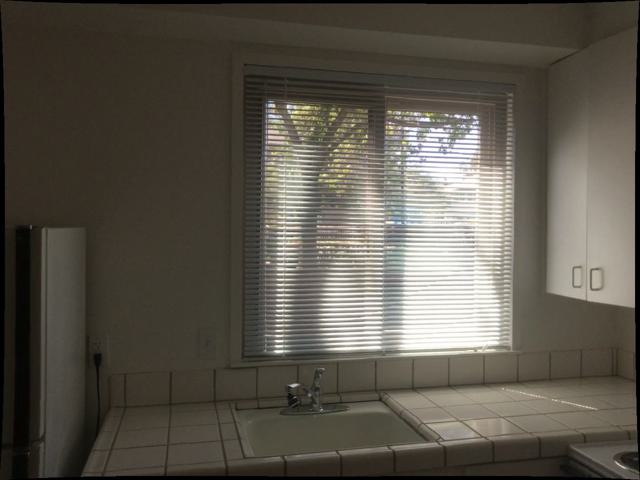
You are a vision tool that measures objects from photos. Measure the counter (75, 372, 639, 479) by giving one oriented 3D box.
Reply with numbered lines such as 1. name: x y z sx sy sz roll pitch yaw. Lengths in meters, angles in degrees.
1. counter: 0.319 0.651 1.960 2.057 0.120 0.710 0 2 -14

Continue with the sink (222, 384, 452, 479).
1. sink: 0.010 0.701 1.910 0.619 0.250 0.610 0 2 -14

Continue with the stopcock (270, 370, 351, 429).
1. stopcock: -0.040 0.591 2.160 0.270 0.150 0.180 0 2 -14

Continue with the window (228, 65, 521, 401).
1. window: 0.230 -0.020 2.290 1.158 1.212 0.150 0 2 -14
